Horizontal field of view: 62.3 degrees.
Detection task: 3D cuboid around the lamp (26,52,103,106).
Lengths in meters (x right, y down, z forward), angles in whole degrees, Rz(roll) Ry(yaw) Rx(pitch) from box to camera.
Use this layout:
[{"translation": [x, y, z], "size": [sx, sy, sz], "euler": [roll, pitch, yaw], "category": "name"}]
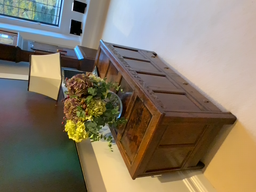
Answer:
[{"translation": [-0.650, -0.160, 2.140], "size": [0.330, 0.660, 0.370], "euler": [55, 133, 49], "category": "lamp"}]
